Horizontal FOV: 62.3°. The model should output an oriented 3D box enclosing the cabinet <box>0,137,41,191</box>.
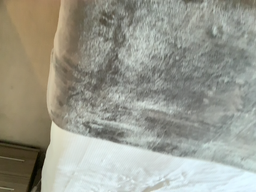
[{"bbox_3d":[-1.000,0.690,1.660,0.430,0.530,0.460,14,130,-14],"label":"cabinet"}]
